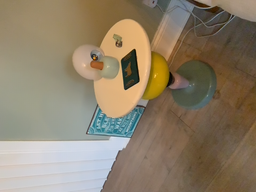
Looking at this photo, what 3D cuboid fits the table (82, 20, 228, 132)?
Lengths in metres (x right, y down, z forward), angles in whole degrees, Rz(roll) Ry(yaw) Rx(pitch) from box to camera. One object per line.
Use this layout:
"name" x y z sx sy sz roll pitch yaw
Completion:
"table" 0.130 -0.090 1.180 0.410 0.570 0.400 47 121 48
